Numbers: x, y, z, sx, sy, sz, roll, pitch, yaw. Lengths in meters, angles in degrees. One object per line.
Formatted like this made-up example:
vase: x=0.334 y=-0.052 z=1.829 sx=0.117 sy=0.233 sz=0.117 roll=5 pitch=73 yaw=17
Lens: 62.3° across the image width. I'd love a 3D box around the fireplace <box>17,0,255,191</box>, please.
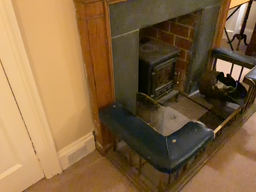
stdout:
fireplace: x=0.270 y=-0.480 z=1.680 sx=1.580 sy=1.320 sz=1.380 roll=-30 pitch=45 yaw=-33
